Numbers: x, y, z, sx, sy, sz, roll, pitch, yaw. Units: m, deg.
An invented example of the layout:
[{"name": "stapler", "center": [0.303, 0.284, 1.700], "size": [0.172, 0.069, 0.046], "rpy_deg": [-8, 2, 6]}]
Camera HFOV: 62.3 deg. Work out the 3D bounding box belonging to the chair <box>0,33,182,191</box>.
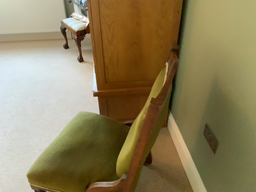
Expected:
[{"name": "chair", "center": [-0.160, 0.220, 1.150], "size": [0.680, 0.880, 0.570], "rpy_deg": [12, 37, 16]}]
